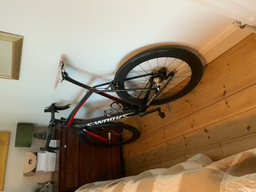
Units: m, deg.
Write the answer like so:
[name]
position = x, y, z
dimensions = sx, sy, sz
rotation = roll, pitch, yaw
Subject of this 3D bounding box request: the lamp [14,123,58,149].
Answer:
[lamp]
position = -1.120, 0.500, 2.600
dimensions = 0.190, 0.460, 0.260
rotation = -45, 46, 50
